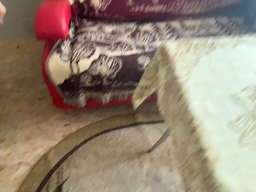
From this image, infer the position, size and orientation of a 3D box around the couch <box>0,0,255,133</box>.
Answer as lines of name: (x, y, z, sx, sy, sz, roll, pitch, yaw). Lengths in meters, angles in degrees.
couch: (0.380, -0.600, 1.460, 1.850, 0.920, 1.160, -6, 49, -6)
